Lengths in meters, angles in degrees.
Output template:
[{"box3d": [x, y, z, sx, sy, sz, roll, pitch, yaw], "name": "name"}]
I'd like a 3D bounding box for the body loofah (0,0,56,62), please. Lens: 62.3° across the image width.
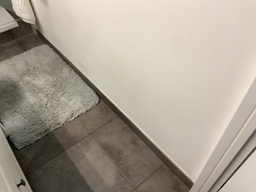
[{"box3d": [-0.960, -1.080, 1.570, 0.210, 1.690, 0.490, -32, 56, -24], "name": "body loofah"}]
